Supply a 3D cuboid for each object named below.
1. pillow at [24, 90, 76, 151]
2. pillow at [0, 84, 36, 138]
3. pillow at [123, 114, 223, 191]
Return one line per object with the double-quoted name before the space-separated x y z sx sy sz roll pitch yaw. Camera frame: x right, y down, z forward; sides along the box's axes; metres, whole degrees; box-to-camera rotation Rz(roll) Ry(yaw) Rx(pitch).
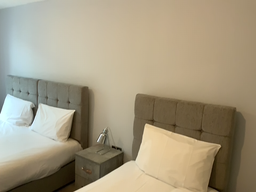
"pillow" -1.070 0.310 2.850 0.760 0.420 0.190 37 25 25
"pillow" -1.780 0.210 3.320 0.780 0.460 0.180 38 25 26
"pillow" 0.360 0.530 1.880 0.760 0.460 0.180 22 17 29
